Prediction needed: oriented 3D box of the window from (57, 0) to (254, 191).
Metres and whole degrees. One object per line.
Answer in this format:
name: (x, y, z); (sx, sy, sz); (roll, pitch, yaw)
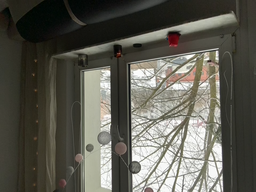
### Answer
window: (0.080, 0.320, 1.620); (1.460, 1.520, 0.450); (-1, 179, 38)
